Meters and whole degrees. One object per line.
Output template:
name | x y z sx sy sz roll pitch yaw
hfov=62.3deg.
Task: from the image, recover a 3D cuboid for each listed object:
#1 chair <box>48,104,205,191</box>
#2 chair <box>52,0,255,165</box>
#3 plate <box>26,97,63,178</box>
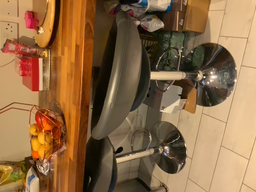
chair | -0.030 0.430 1.460 0.530 0.840 0.500 41 125 45
chair | 0.140 -0.120 1.150 0.560 0.880 0.520 40 124 45
plate | -0.390 0.170 0.970 0.270 0.090 0.270 23 112 51
